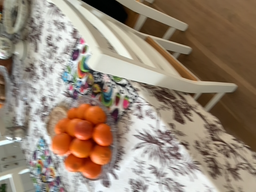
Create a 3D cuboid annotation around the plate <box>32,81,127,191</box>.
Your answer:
[{"bbox_3d":[-0.190,0.140,0.750,0.280,0.140,0.260,54,125,28],"label":"plate"}]
